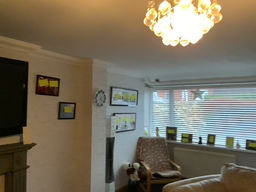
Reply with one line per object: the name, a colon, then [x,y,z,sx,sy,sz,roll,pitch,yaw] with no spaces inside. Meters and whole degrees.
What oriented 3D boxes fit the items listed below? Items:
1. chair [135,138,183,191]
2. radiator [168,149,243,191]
chair: [0.600,1.380,4.340,0.700,0.900,0.850,2,-2,-13]
radiator: [1.520,1.500,4.280,1.410,0.630,0.220,0,-2,33]
